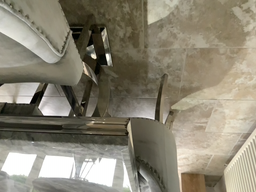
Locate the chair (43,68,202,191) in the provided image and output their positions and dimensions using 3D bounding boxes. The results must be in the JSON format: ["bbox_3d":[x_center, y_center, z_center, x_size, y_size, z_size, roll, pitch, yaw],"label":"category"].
[{"bbox_3d":[0.010,0.390,1.290,0.700,1.030,0.540,0,142,7],"label":"chair"}]

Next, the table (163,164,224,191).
[{"bbox_3d":[0.780,1.240,2.660,0.640,0.520,0.620,1,142,6],"label":"table"}]

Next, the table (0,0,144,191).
[{"bbox_3d":[-0.410,0.430,1.610,1.020,0.780,1.980,1,142,6],"label":"table"}]
